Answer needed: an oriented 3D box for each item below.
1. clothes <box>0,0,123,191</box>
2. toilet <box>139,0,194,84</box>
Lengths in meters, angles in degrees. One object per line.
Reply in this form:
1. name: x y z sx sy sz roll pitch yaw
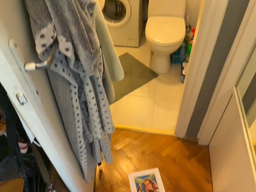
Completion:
1. clothes: -0.170 0.030 0.950 0.220 1.340 0.380 0 47 2
2. toilet: 0.340 -0.620 2.000 0.360 0.740 0.640 7 47 6
